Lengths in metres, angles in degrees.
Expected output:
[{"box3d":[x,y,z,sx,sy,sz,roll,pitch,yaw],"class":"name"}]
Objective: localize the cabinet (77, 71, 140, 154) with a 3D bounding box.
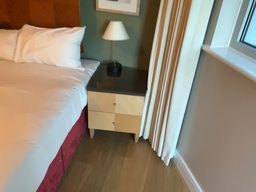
[{"box3d":[-0.180,0.150,2.140,0.510,0.600,0.500,6,31,2],"class":"cabinet"}]
